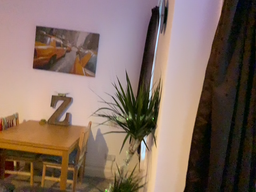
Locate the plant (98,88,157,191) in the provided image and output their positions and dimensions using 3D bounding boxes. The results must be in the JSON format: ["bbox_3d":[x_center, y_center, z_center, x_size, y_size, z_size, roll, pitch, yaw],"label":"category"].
[{"bbox_3d":[-0.040,0.640,1.530,0.300,1.360,0.300,7,6,2],"label":"plant"}]

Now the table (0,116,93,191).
[{"bbox_3d":[-1.000,0.740,2.580,0.900,0.740,0.910,7,6,2],"label":"table"}]
